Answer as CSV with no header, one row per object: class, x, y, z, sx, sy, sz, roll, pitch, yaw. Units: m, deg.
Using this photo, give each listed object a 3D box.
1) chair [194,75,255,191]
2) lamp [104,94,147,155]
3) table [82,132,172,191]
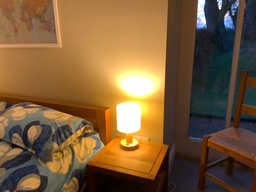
chair,0.880,0.340,1.610,0.510,0.880,0.450,-12,20,-34
lamp,-0.010,0.190,1.540,0.220,0.340,0.250,6,17,22
table,0.020,0.590,1.510,0.470,0.430,0.470,6,17,23
